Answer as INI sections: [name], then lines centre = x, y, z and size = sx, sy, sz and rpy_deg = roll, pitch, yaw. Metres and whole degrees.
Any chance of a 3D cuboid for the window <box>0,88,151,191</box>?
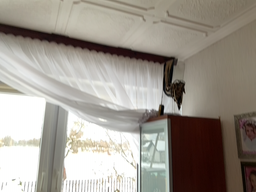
[window]
centre = -0.660, 0.690, 1.810
size = 1.750, 1.370, 0.380
rpy_deg = 6, -14, -23
